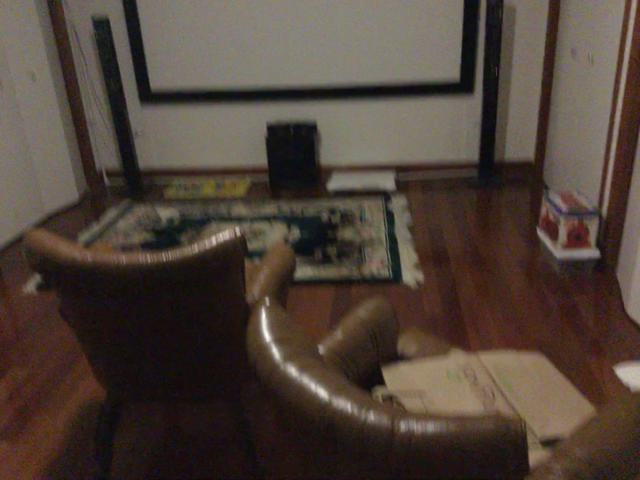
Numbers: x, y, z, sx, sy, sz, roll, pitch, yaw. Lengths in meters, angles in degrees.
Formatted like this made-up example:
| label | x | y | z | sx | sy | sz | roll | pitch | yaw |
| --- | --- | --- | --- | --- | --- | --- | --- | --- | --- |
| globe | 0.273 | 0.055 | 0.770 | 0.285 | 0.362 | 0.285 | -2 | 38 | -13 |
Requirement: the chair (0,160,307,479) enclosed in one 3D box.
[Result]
| label | x | y | z | sx | sy | sz | roll | pitch | yaw |
| --- | --- | --- | --- | --- | --- | --- | --- | --- | --- |
| chair | -0.450 | 0.260 | 1.670 | 0.680 | 0.810 | 0.670 | 0 | 24 | 8 |

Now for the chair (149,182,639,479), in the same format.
| label | x | y | z | sx | sy | sz | roll | pitch | yaw |
| --- | --- | --- | --- | --- | --- | --- | --- | --- | --- |
| chair | 0.230 | 0.450 | 1.150 | 0.760 | 0.830 | 0.750 | -18 | 28 | -30 |
